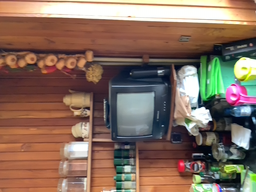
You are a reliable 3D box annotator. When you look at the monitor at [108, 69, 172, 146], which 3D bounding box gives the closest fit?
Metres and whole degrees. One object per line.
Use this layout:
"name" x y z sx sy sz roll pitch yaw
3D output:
"monitor" 0.050 0.060 1.340 0.320 0.340 0.380 -97 9 -68
